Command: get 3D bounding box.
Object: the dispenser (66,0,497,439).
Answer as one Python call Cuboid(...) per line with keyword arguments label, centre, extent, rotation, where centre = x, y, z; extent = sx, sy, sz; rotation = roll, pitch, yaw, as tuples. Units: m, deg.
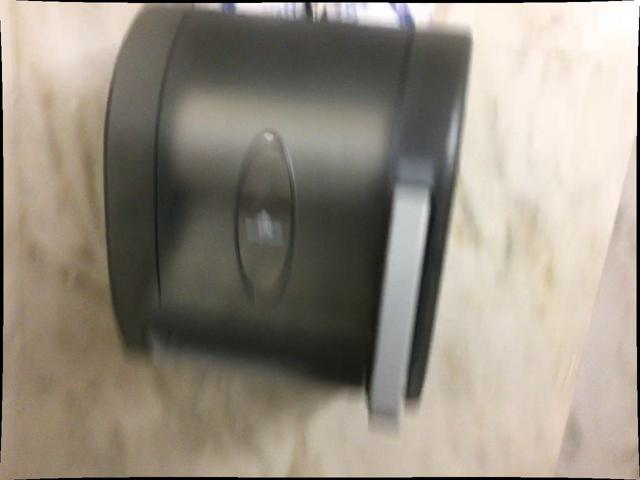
Cuboid(label="dispenser", centre=(-0.030, -0.050, 0.590), extent=(0.330, 0.350, 0.260), rotation=(7, 13, 8))
